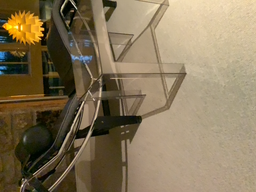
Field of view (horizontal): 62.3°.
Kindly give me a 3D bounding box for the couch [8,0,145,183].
[{"bbox_3d":[-0.470,-0.220,1.570,0.600,0.670,1.470,-36,62,57],"label":"couch"}]
